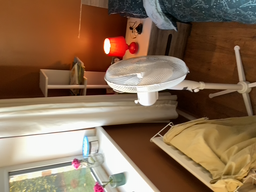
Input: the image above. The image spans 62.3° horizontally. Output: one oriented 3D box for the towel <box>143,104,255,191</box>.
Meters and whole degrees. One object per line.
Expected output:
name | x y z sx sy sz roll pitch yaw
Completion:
towel | 0.540 0.220 1.150 0.550 0.720 0.170 29 115 55
